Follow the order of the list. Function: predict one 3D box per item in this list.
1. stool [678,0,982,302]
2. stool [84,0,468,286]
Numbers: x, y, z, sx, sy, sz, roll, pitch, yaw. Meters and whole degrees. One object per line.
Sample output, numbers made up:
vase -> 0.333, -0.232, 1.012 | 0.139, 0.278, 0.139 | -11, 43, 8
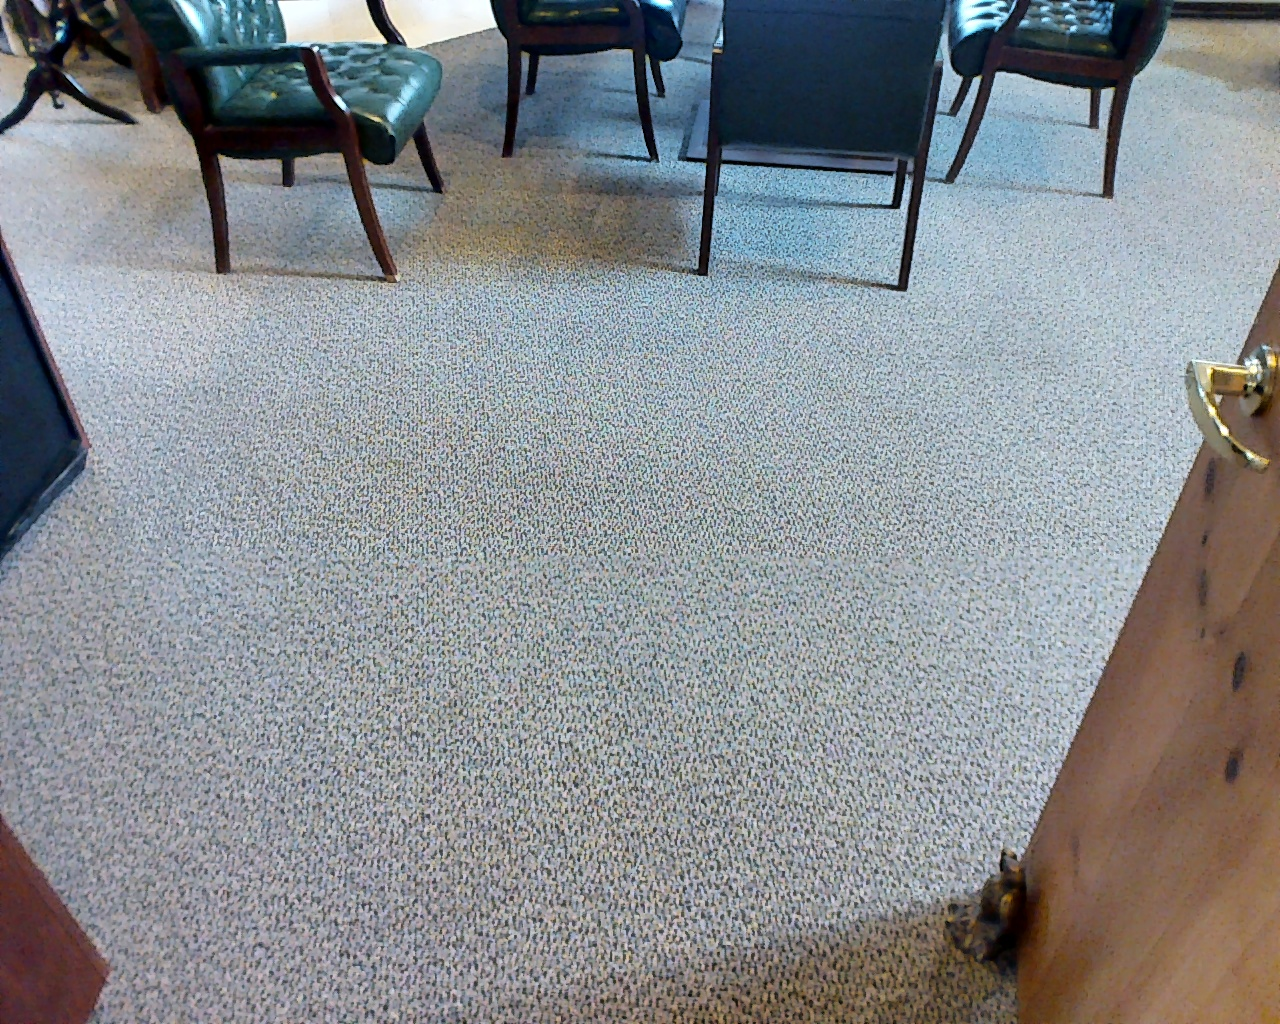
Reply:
stool -> 0.480, -1.180, 3.010 | 0.680, 0.880, 0.740 | 3, 42, 4
stool -> -0.960, -1.200, 3.030 | 0.730, 0.870, 0.620 | 4, 42, 5
